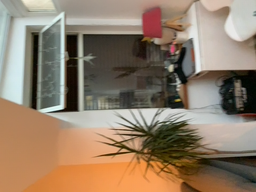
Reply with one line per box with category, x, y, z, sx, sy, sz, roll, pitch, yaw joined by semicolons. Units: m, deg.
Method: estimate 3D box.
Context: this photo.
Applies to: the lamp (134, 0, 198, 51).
lamp;0.390;-0.760;2.380;0.550;0.550;0.330;131;137;-80
